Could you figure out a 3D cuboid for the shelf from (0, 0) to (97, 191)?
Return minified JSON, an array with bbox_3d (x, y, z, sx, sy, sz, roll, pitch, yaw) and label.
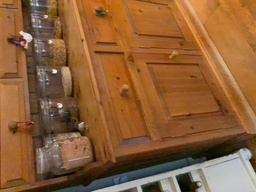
[{"bbox_3d":[-0.880,-0.230,1.060,0.260,1.080,1.620,-54,47,51],"label":"shelf"}]
